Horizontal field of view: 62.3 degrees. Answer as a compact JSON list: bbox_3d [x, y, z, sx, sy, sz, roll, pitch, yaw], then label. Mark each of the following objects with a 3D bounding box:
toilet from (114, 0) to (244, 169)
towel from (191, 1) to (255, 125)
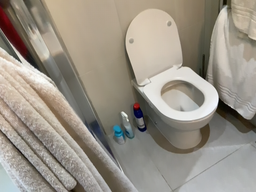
[{"bbox_3d":[0.280,-0.050,1.310,0.380,0.820,0.530,-26,44,-11],"label":"toilet"},{"bbox_3d":[0.590,-0.190,1.240,0.130,0.550,0.510,-27,46,-7],"label":"towel"}]
